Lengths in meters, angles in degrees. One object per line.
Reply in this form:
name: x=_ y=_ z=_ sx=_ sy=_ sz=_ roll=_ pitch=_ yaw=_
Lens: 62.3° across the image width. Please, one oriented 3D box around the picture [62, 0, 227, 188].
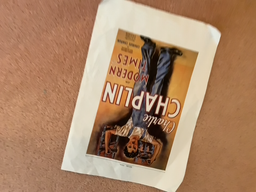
picture: x=0.030 y=0.000 z=0.360 sx=0.220 sy=0.010 sz=0.290 roll=13 pitch=93 yaw=-8
